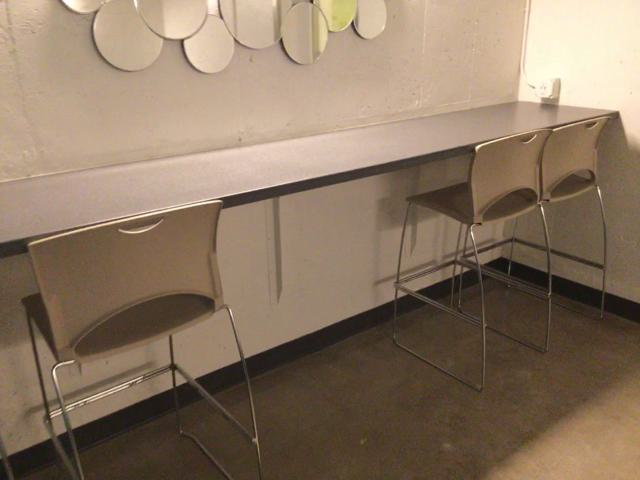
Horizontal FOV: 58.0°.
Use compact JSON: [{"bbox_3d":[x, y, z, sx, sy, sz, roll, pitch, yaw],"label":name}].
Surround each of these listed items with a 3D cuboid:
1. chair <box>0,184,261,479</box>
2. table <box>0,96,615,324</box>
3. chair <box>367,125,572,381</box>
[{"bbox_3d":[-0.550,0.340,1.670,0.540,0.910,0.550,-9,16,-39],"label":"chair"},{"bbox_3d":[-0.050,-0.260,2.000,3.160,0.330,0.670,-14,20,-38],"label":"table"},{"bbox_3d":[0.610,0.010,2.450,0.500,0.920,0.530,-6,17,-40],"label":"chair"}]
